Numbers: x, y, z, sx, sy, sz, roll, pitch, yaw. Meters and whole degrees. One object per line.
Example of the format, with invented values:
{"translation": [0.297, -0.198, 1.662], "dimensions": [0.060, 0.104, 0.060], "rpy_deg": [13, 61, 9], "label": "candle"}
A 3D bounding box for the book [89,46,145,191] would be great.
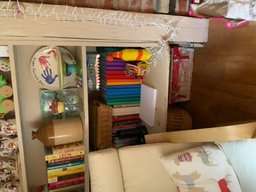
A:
{"translation": [-0.090, 0.230, 1.700], "dimensions": [0.330, 0.320, 1.190], "rpy_deg": [-166, 73, -65], "label": "book"}

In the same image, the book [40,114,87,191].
{"translation": [-0.490, 0.480, 1.610], "dimensions": [0.270, 0.280, 0.620], "rpy_deg": [-166, 73, -65], "label": "book"}
